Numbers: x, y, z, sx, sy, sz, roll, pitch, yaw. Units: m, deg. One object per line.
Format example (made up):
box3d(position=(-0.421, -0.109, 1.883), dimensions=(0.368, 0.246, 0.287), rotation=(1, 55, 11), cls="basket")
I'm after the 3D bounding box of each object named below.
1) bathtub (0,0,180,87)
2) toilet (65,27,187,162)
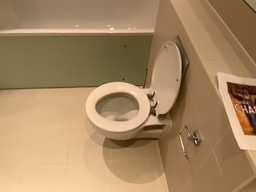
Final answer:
box3d(position=(-0.510, -0.540, 1.900), dimensions=(1.690, 0.580, 0.690), rotation=(-1, 49, -5), cls="bathtub")
box3d(position=(-0.040, 0.030, 1.310), dimensions=(0.510, 0.760, 0.420), rotation=(-2, 49, -6), cls="toilet")
